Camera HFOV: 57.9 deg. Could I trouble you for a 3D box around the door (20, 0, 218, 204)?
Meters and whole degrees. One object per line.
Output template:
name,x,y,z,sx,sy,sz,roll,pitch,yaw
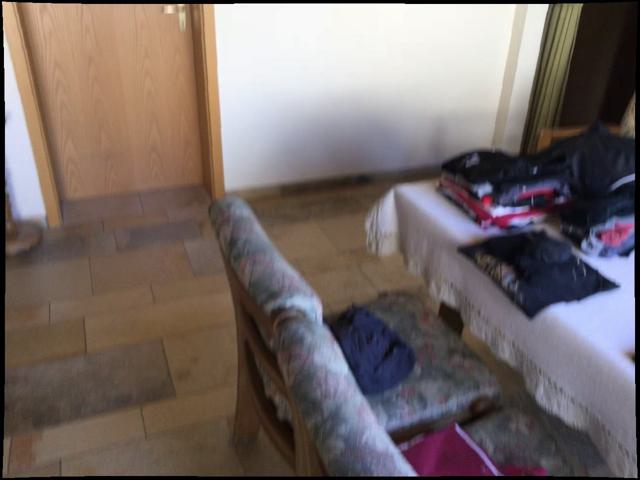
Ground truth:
door,-1.009,-1.141,2.910,0.869,1.911,0.190,-9,31,-20
